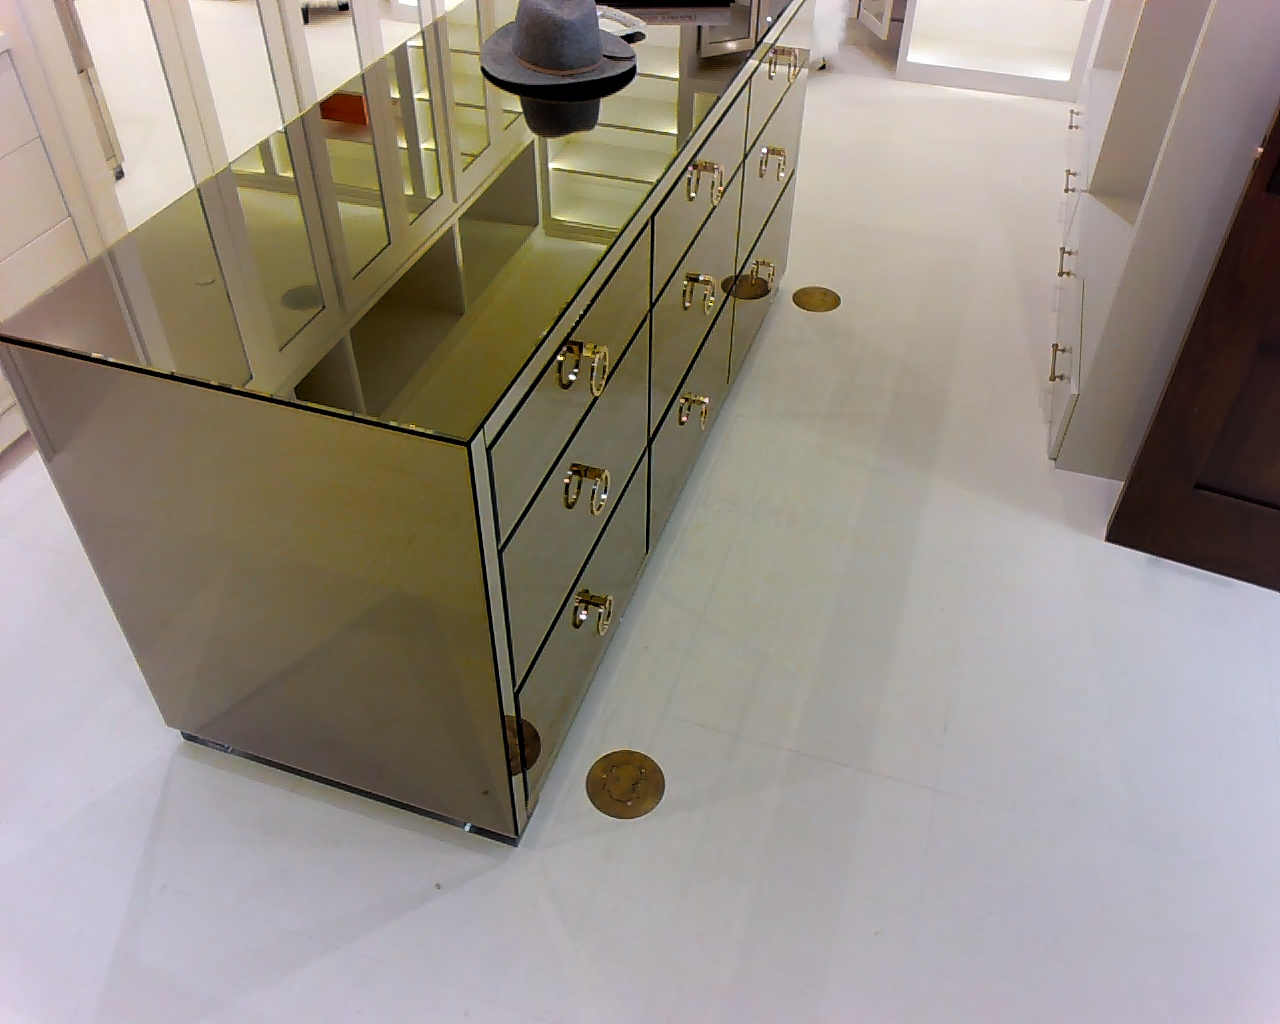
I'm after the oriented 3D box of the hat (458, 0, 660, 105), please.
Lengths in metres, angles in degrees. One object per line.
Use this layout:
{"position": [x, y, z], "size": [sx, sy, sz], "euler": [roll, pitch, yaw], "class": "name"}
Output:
{"position": [-0.150, -0.950, 2.120], "size": [0.300, 0.140, 0.310], "euler": [12, 43, 13], "class": "hat"}
